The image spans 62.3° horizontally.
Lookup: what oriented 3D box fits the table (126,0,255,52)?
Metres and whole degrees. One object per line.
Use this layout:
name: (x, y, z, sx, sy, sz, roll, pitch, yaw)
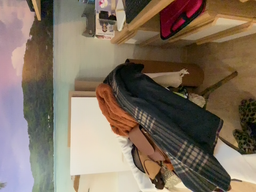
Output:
table: (0.400, -0.570, 1.120, 0.490, 0.690, 0.550, -173, 83, -71)
